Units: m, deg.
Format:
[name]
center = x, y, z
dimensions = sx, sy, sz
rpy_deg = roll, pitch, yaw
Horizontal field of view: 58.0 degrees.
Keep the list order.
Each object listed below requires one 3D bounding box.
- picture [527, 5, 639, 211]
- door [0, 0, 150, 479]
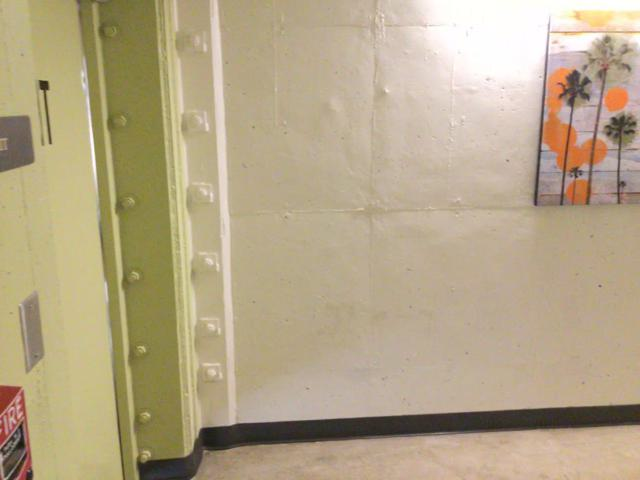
[picture]
center = 1.180, -0.510, 2.310
dimensions = 0.640, 0.780, 0.070
rpy_deg = 0, 9, -5
[door]
center = -0.700, 0.090, 1.670
dimensions = 0.140, 2.040, 1.040
rpy_deg = 0, 9, -5
